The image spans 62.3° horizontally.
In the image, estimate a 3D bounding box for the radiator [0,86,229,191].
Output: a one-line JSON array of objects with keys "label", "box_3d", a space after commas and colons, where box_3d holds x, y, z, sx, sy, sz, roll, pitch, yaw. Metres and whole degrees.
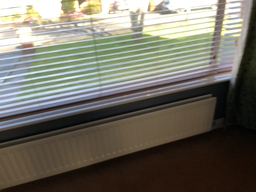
[{"label": "radiator", "box_3d": [-0.080, 0.370, 1.920, 2.070, 0.540, 0.180, -11, 32, -13]}]

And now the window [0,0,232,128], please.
[{"label": "window", "box_3d": [-0.330, -0.650, 1.550, 2.670, 1.630, 0.110, -13, 32, -16]}]
